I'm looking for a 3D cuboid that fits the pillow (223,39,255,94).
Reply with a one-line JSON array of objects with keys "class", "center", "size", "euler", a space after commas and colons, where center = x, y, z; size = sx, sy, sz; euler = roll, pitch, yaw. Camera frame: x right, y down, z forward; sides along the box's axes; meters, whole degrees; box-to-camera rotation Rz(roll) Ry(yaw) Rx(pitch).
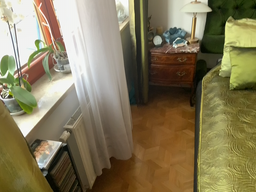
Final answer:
[{"class": "pillow", "center": [1.110, -0.260, 1.920], "size": [0.380, 0.400, 0.280], "euler": [3, 51, 14]}]
